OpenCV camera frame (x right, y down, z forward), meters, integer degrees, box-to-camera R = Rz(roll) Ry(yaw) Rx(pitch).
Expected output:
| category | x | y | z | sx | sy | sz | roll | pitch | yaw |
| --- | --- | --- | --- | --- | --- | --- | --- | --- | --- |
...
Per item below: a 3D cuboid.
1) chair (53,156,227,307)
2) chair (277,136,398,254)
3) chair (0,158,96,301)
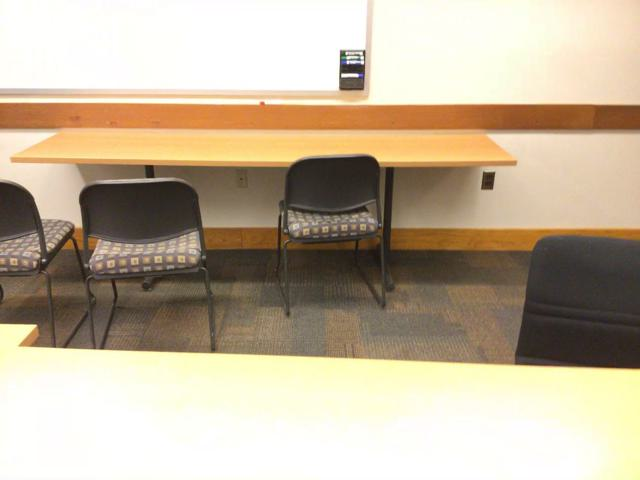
| category | x | y | z | sx | sy | sz | roll | pitch | yaw |
| --- | --- | --- | --- | --- | --- | --- | --- | --- | --- |
| chair | -0.680 | -0.050 | 2.330 | 0.550 | 0.490 | 0.430 | 0 | 20 | -4 |
| chair | 0.060 | -0.210 | 2.630 | 0.510 | 0.470 | 0.300 | 0 | 20 | -4 |
| chair | -1.250 | -0.060 | 2.270 | 0.530 | 0.420 | 0.500 | 0 | 20 | -4 |
